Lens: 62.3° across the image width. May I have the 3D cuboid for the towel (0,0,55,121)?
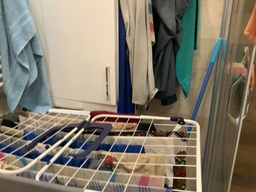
[{"bbox_3d":[-0.540,-0.400,1.000,0.200,1.020,0.190,6,19,17],"label":"towel"}]
